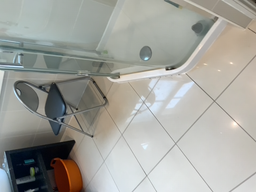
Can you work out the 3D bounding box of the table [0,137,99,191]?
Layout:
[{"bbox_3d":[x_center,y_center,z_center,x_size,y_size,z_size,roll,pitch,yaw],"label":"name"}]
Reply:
[{"bbox_3d":[-0.850,0.920,2.200,0.720,0.740,0.490,53,128,33],"label":"table"}]
